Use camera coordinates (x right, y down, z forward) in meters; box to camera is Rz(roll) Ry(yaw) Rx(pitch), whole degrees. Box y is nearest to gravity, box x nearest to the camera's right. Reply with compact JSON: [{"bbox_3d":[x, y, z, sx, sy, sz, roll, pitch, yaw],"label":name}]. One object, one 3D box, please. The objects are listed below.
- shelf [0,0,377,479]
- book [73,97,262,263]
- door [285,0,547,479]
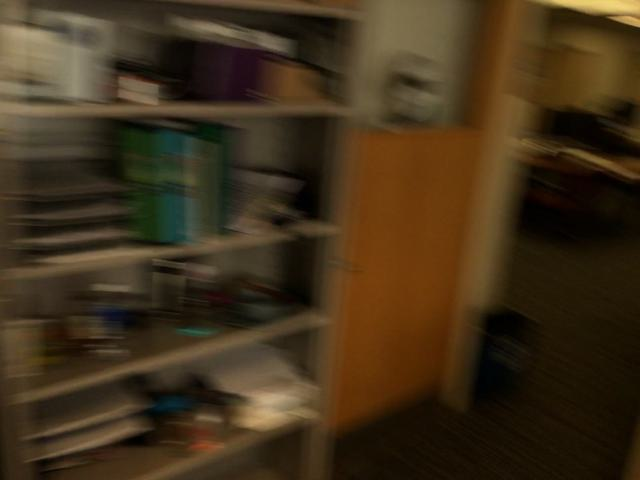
[{"bbox_3d":[-0.430,0.080,1.620,1.080,1.990,0.480,-13,23,-36],"label":"shelf"},{"bbox_3d":[-0.390,-0.180,1.510,0.370,0.340,0.290,-13,23,-36],"label":"book"},{"bbox_3d":[0.370,-0.120,2.200,1.060,2.040,0.210,-13,23,-36],"label":"door"}]
